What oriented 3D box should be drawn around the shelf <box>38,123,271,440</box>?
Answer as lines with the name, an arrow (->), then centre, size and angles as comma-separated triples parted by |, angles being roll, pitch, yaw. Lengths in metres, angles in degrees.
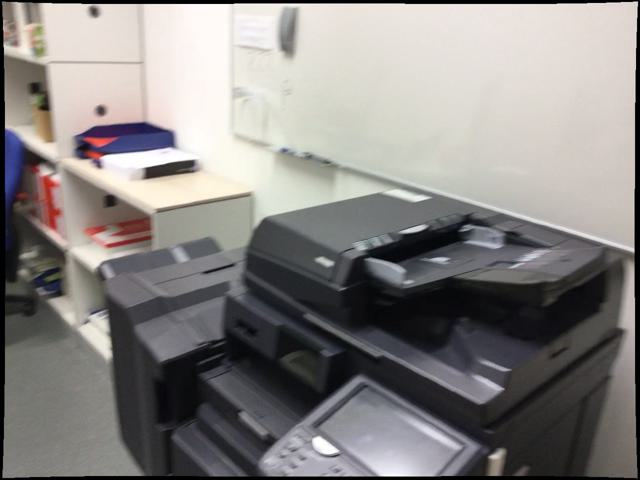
shelf -> -0.689, 0.100, 2.370 | 0.870, 0.961, 0.470 | 24, 29, 39

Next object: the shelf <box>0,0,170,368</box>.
shelf -> -1.479, -0.581, 2.950 | 1.799, 1.751, 0.470 | 24, 29, 39

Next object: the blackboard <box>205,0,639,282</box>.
blackboard -> 0.370, -0.591, 1.360 | 2.079, 1.101, 0.060 | 24, 29, 39
